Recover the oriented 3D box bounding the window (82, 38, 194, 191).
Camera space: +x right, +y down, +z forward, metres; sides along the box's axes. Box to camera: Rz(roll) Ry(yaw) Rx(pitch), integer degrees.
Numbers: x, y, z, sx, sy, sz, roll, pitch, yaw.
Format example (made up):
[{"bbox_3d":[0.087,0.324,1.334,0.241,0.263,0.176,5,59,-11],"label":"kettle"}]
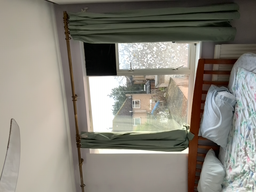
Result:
[{"bbox_3d":[0.150,0.400,2.940,0.090,1.360,2.280,-85,-6,-73],"label":"window"}]
